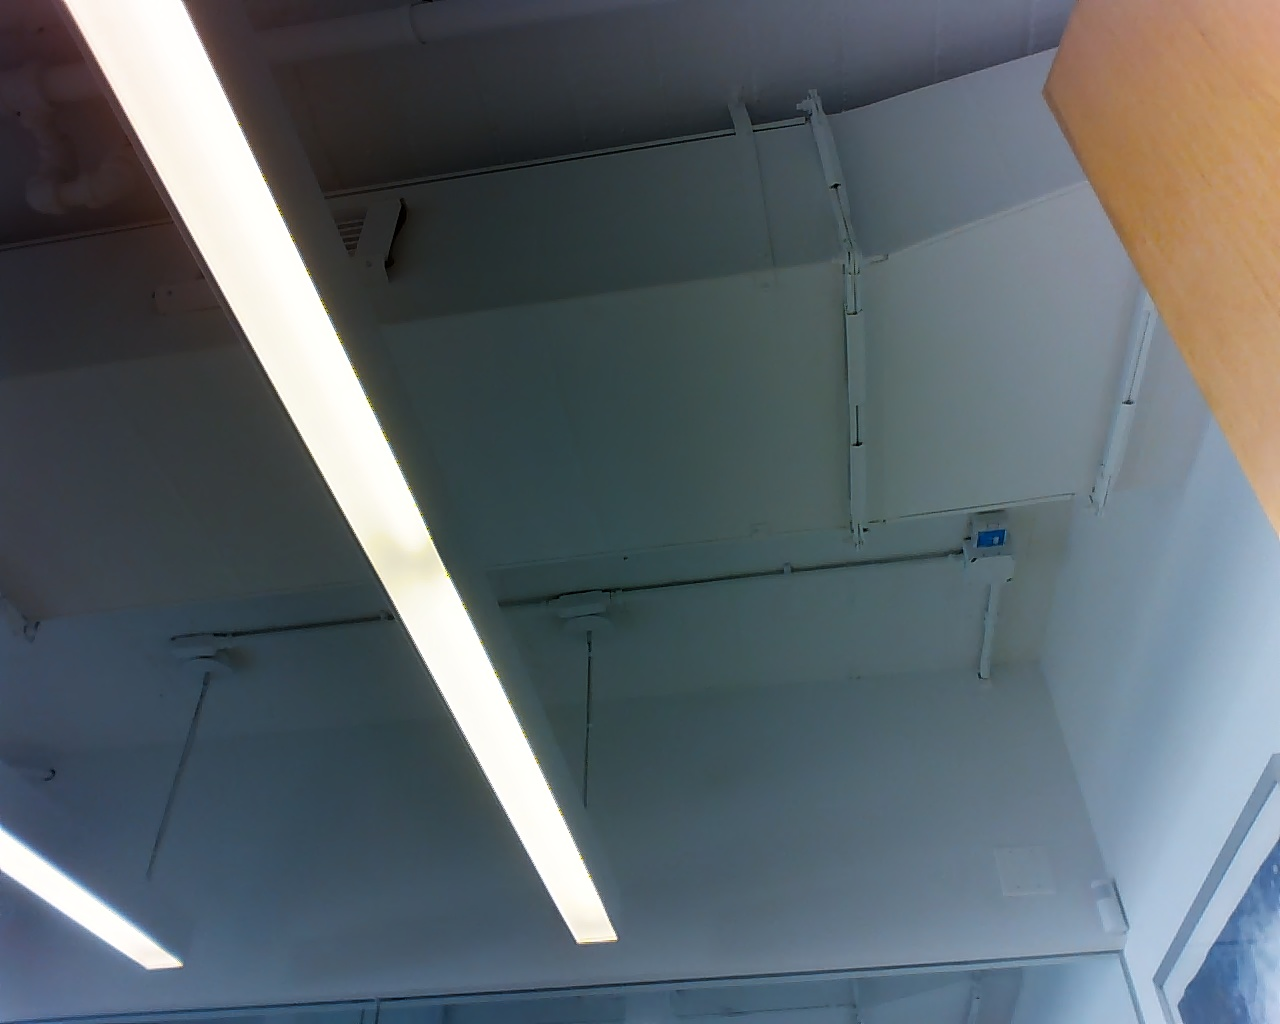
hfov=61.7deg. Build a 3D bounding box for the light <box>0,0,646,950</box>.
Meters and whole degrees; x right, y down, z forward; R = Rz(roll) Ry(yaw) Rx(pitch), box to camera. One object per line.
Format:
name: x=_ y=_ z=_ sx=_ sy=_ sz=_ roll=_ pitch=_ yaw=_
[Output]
light: x=-0.280 y=0.050 z=1.410 sx=0.220 sy=2.451 sz=0.160 roll=-6 pitch=48 yaw=6
